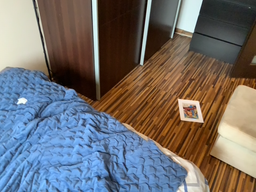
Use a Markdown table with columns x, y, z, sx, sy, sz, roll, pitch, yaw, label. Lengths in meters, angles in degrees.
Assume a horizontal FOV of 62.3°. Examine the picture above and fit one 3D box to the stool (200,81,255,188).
| x | y | z | sx | sy | sz | roll | pitch | yaw | label |
| --- | --- | --- | --- | --- | --- | --- | --- | --- | --- |
| 0.990 | 0.300 | 1.660 | 0.560 | 0.430 | 0.590 | 26 | 46 | 21 | stool |
